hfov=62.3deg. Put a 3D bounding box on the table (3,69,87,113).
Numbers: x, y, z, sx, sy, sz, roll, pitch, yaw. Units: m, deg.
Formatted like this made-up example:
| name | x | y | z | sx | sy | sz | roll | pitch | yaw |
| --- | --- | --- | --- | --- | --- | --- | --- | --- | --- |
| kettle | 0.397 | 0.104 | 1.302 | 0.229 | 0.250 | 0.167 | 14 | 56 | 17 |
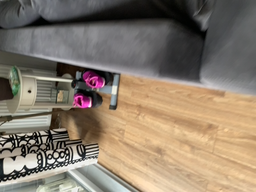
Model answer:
| name | x | y | z | sx | sy | sz | roll | pitch | yaw |
| --- | --- | --- | --- | --- | --- | --- | --- | --- | --- |
| table | -0.750 | -0.040 | 1.960 | 0.310 | 0.620 | 0.320 | 13 | 97 | 43 |
